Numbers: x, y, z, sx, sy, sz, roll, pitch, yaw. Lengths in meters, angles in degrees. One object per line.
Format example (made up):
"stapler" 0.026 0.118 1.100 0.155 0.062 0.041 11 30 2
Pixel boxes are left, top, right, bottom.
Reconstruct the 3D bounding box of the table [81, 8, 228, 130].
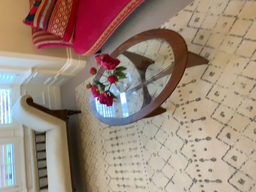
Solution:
"table" 0.100 -0.100 1.800 1.200 0.420 0.580 -22 73 48

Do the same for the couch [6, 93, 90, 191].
"couch" -1.150 0.800 3.000 0.700 0.820 1.550 -23 72 48

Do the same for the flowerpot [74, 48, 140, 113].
"flowerpot" -0.180 -0.090 1.630 0.470 0.250 0.360 -20 74 49
